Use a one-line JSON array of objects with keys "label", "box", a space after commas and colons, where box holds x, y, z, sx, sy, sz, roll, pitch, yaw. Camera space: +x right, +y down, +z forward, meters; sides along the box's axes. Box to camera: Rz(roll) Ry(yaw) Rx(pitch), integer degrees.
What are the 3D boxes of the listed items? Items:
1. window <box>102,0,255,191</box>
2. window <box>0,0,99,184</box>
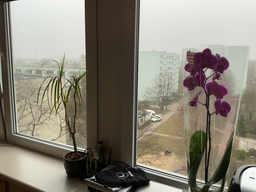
[{"label": "window", "box": [0.310, -0.180, 0.890, 0.900, 1.420, 0.120, 6, 10, 26]}, {"label": "window", "box": [-0.600, -0.290, 1.330, 0.850, 1.460, 0.210, 6, 10, 25]}]
